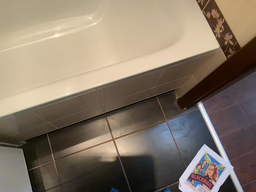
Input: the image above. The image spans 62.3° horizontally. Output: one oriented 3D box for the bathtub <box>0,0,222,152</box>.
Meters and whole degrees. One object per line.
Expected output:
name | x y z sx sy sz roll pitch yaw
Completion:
bathtub | -0.480 -0.180 0.990 1.470 0.570 0.660 -19 76 -12
